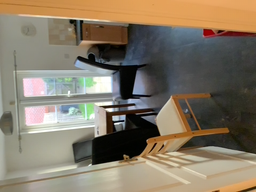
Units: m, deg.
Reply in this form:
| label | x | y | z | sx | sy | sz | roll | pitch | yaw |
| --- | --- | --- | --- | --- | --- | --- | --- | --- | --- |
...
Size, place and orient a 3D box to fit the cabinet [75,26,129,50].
| label | x | y | z | sx | sy | sz | roll | pitch | yaw |
| --- | --- | --- | --- | --- | --- | --- | --- | --- | --- |
| cabinet | -0.510 | -1.100 | 4.110 | 0.600 | 0.910 | 0.300 | -172 | 79 | -69 |
